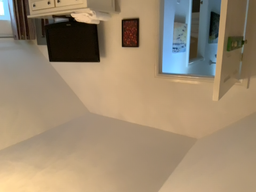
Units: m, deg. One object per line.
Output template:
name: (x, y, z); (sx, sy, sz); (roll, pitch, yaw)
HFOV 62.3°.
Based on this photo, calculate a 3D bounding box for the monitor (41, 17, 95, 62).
monitor: (-0.810, -0.740, 2.840); (0.760, 0.550, 0.050); (5, -163, 20)
